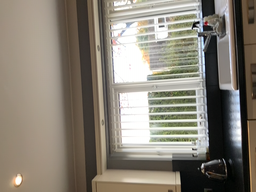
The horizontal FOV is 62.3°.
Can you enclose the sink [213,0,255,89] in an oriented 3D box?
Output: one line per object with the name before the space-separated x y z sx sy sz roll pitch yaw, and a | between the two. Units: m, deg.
sink | 0.880 -0.360 1.680 0.550 0.260 0.580 -6 -87 -78
